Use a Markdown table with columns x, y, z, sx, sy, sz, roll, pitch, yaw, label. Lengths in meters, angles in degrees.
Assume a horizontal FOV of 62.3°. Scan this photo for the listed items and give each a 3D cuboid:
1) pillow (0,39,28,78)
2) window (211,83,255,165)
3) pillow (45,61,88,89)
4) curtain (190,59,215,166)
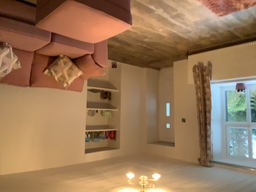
| x | y | z | sx | sy | sz | roll | pitch | yaw | label |
| --- | --- | --- | --- | --- | --- | --- | --- | --- | --- |
| -1.670 | -0.480 | 2.870 | 0.190 | 0.460 | 0.590 | 44 | 175 | -11 | pillow |
| 2.300 | 0.520 | 4.130 | 1.330 | 1.530 | 0.060 | -4 | 173 | 45 | window |
| -0.990 | -0.330 | 3.480 | 0.180 | 0.470 | 0.470 | 62 | -168 | 9 | pillow |
| 1.460 | 0.300 | 4.170 | 0.350 | 1.980 | 0.290 | -4 | 173 | 42 | curtain |
